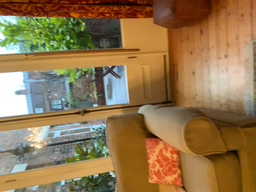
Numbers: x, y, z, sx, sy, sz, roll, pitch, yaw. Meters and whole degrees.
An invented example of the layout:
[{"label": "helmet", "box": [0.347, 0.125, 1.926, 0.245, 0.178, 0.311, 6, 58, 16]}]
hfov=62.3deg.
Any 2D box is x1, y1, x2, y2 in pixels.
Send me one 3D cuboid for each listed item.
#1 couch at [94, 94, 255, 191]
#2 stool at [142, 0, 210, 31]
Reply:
[{"label": "couch", "box": [0.320, 0.660, 1.650, 1.140, 0.930, 1.240, -171, 75, -75]}, {"label": "stool", "box": [0.380, -0.900, 1.850, 0.570, 0.350, 0.550, -153, 58, -73]}]
